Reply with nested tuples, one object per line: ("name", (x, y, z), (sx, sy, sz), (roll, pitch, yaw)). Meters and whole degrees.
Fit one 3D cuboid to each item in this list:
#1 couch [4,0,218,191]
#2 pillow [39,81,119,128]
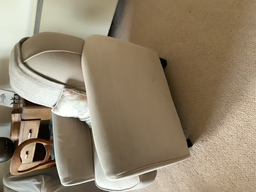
("couch", (-0.210, 0.140, 1.270), (0.890, 0.840, 0.800), (-32, 65, 51))
("pillow", (-0.280, 0.070, 1.240), (0.340, 0.290, 0.090), (-22, 58, 28))
